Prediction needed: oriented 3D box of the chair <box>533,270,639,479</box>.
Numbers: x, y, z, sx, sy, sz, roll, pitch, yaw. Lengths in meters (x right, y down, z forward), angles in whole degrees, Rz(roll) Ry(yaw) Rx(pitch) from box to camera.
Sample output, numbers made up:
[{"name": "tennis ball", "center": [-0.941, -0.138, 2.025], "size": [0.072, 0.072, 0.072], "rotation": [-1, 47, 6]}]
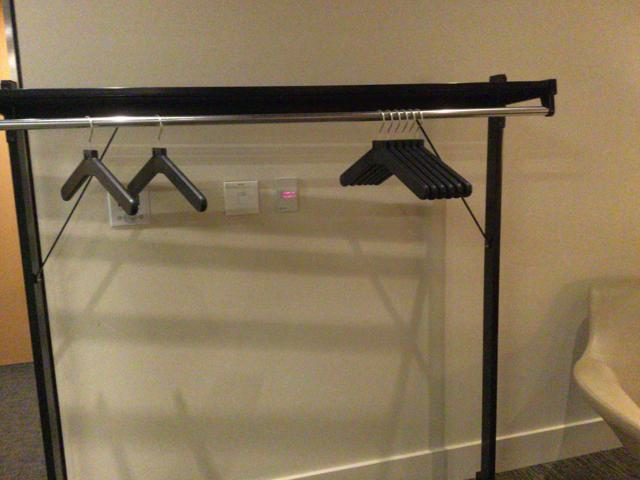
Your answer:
[{"name": "chair", "center": [1.260, 0.580, 1.860], "size": [0.880, 0.790, 0.890], "rotation": [-4, 10, 8]}]
